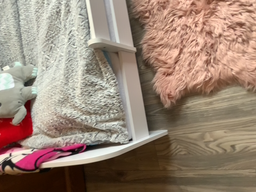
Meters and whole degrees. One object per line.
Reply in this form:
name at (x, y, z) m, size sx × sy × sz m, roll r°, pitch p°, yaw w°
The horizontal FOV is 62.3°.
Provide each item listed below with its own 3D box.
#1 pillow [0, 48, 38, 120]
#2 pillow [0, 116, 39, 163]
pillow at (-0.710, -0.040, 1.160) m, size 0.370 × 0.200 × 0.340 m, roll -9°, pitch 87°, yaw 34°
pillow at (-0.670, 0.230, 1.150) m, size 0.340 × 0.170 × 0.200 m, roll -9°, pitch 86°, yaw 34°
